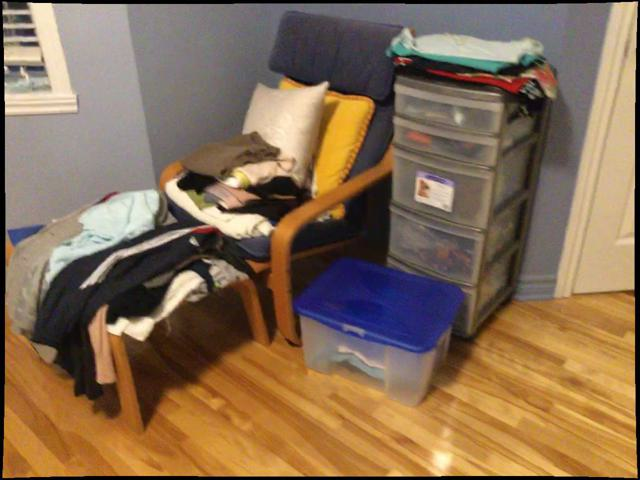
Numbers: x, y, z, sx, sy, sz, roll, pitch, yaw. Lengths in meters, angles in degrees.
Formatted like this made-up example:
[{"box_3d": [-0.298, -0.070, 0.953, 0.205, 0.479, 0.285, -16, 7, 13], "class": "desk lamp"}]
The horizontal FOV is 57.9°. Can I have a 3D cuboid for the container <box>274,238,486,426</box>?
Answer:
[{"box_3d": [0.190, 0.260, 1.860, 0.500, 0.240, 0.430, 22, 38, 35], "class": "container"}]

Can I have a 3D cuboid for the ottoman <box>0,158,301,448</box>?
[{"box_3d": [-0.579, 0.130, 1.930, 0.760, 0.460, 0.670, 22, 38, 35], "class": "ottoman"}]

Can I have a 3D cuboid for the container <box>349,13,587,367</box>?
[{"box_3d": [0.440, -0.180, 1.890, 0.490, 0.951, 0.480, 22, 38, 35], "class": "container"}]

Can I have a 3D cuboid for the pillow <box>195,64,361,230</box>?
[{"box_3d": [-0.140, -0.350, 2.060, 0.470, 0.420, 0.320, 22, 38, 35], "class": "pillow"}]
